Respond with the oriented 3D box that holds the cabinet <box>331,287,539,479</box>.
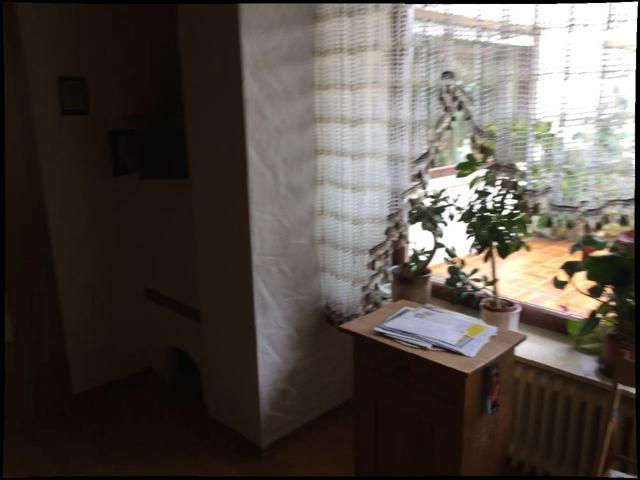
[{"bbox_3d":[0.360,0.641,1.940,0.510,0.791,0.390,15,21,41],"label":"cabinet"}]
